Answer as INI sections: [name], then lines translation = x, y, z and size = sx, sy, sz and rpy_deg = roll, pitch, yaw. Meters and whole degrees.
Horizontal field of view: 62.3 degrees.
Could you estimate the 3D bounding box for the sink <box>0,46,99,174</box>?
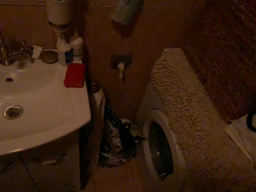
[sink]
translation = -0.380, 0.030, 0.680
size = 0.500, 0.150, 0.380
rpy_deg = -6, 54, -17
